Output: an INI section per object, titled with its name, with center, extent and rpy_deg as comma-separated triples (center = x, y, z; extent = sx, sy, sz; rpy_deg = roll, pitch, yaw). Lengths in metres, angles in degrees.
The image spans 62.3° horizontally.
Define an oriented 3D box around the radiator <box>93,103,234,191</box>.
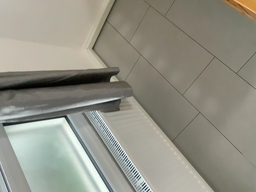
[radiator]
center = 0.290, 0.440, 1.180
extent = 1.050, 0.510, 0.070
rpy_deg = 48, 122, 27
